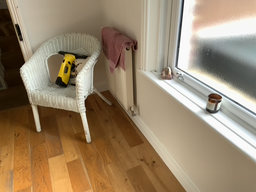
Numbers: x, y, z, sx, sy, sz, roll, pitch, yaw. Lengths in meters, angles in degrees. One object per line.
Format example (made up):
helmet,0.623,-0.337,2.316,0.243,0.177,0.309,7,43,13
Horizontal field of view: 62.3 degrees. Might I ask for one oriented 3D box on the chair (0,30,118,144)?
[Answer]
chair,-0.520,-0.120,1.890,0.630,0.720,0.620,10,35,18
